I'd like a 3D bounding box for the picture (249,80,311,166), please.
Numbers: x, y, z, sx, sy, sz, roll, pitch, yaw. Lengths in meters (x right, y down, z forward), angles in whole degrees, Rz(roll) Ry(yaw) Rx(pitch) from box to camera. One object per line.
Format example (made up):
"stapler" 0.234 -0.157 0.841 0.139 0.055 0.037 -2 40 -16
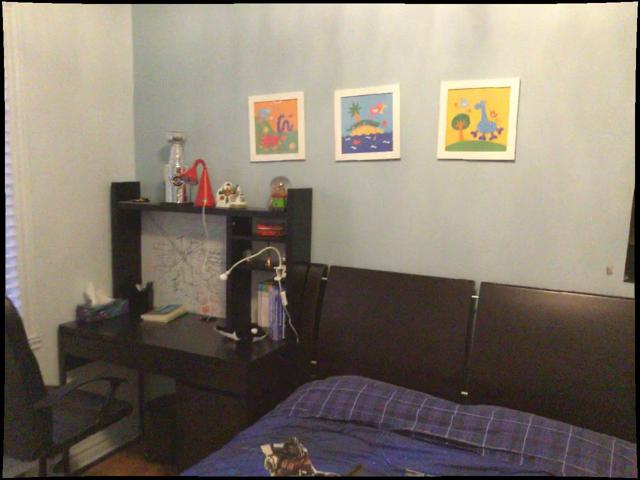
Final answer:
"picture" -0.180 -0.511 2.540 0.300 0.360 0.030 5 10 27

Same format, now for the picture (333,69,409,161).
"picture" 0.200 -0.501 2.340 0.310 0.350 0.030 5 10 27

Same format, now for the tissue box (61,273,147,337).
"tissue box" -1.019 0.300 2.750 0.180 0.210 0.340 5 10 27

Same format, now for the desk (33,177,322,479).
"desk" -0.619 0.420 2.580 1.099 1.341 0.570 5 10 27

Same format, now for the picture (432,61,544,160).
"picture" 0.609 -0.470 2.130 0.380 0.340 0.030 5 10 27
